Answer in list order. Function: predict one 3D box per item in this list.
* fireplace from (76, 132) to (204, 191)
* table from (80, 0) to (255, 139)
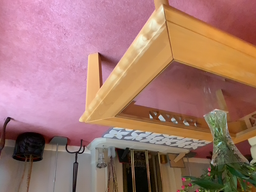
[{"bbox_3d":[0.170,1.240,2.800,1.510,1.170,0.740,12,146,-27],"label":"fireplace"},{"bbox_3d":[0.370,-0.150,1.150,1.050,0.470,0.720,11,147,-25],"label":"table"}]
